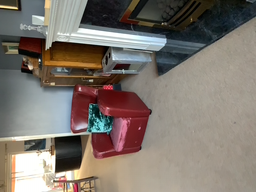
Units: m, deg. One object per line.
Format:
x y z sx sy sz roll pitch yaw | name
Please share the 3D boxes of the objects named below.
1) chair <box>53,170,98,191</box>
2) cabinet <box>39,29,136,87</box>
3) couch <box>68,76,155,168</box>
-1.180 2.010 4.730 0.510 0.870 0.540 141 125 -59 | chair
-0.640 -0.470 3.120 0.910 1.200 0.430 149 118 -62 | cabinet
-0.290 0.290 2.820 0.860 0.820 0.780 -126 43 -52 | couch
